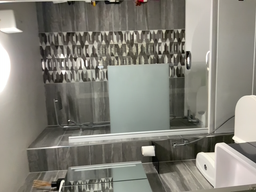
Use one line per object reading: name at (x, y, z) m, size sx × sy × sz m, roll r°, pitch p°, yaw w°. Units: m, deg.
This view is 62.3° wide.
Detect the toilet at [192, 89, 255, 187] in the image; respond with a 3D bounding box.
toilet at (1.010, 0.310, 1.800) m, size 0.420 × 0.780 × 0.670 m, roll -128°, pitch 35°, yaw -79°

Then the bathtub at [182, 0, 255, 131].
bathtub at (1.000, -0.510, 2.410) m, size 0.660 × 0.550 × 1.630 m, roll -127°, pitch 34°, yaw -80°
